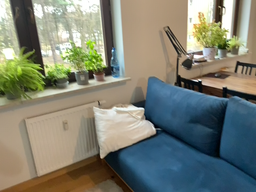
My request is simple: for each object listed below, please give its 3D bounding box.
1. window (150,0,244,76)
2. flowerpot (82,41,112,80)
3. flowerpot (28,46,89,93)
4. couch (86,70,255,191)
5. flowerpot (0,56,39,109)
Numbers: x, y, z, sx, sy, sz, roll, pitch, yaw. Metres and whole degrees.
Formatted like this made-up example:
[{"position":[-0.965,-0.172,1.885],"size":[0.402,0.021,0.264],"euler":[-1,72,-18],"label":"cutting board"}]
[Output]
[{"position":[1.140,-1.340,3.300],"size":[1.730,1.750,0.390],"euler":[-15,22,-32],"label":"window"},{"position":[-0.350,-0.410,2.400],"size":[0.210,0.380,0.260],"euler":[-14,22,-30],"label":"flowerpot"},{"position":[-0.700,-0.290,2.180],"size":[0.510,0.370,0.230],"euler":[-14,22,-31],"label":"flowerpot"},{"position":[0.580,0.480,1.640],"size":[0.950,0.910,2.130],"euler":[-14,22,-30],"label":"couch"},{"position":[-1.070,-0.130,1.840],"size":[0.450,0.350,0.400],"euler":[-13,21,-27],"label":"flowerpot"}]
